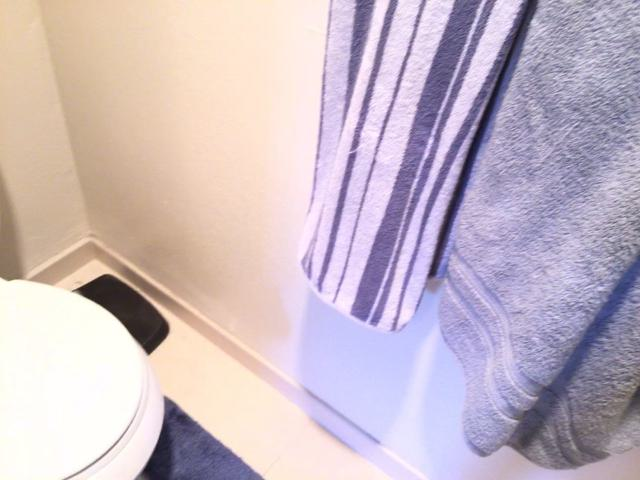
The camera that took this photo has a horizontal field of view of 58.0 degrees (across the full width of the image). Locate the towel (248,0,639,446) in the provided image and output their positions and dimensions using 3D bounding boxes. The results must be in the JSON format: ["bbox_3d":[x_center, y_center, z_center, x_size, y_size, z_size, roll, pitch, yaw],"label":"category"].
[{"bbox_3d":[0.140,-0.110,0.670,0.420,0.700,0.150,33,48,22],"label":"towel"}]

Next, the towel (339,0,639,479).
[{"bbox_3d":[0.290,0.040,0.610,0.380,0.800,0.190,33,48,22],"label":"towel"}]
